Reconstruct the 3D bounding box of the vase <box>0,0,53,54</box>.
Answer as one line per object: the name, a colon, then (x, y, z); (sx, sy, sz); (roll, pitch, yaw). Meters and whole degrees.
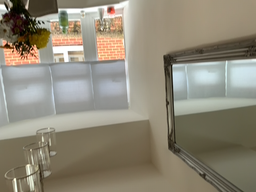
vase: (-0.570, -0.510, 1.160); (0.230, 0.520, 0.240); (-7, -171, -17)
